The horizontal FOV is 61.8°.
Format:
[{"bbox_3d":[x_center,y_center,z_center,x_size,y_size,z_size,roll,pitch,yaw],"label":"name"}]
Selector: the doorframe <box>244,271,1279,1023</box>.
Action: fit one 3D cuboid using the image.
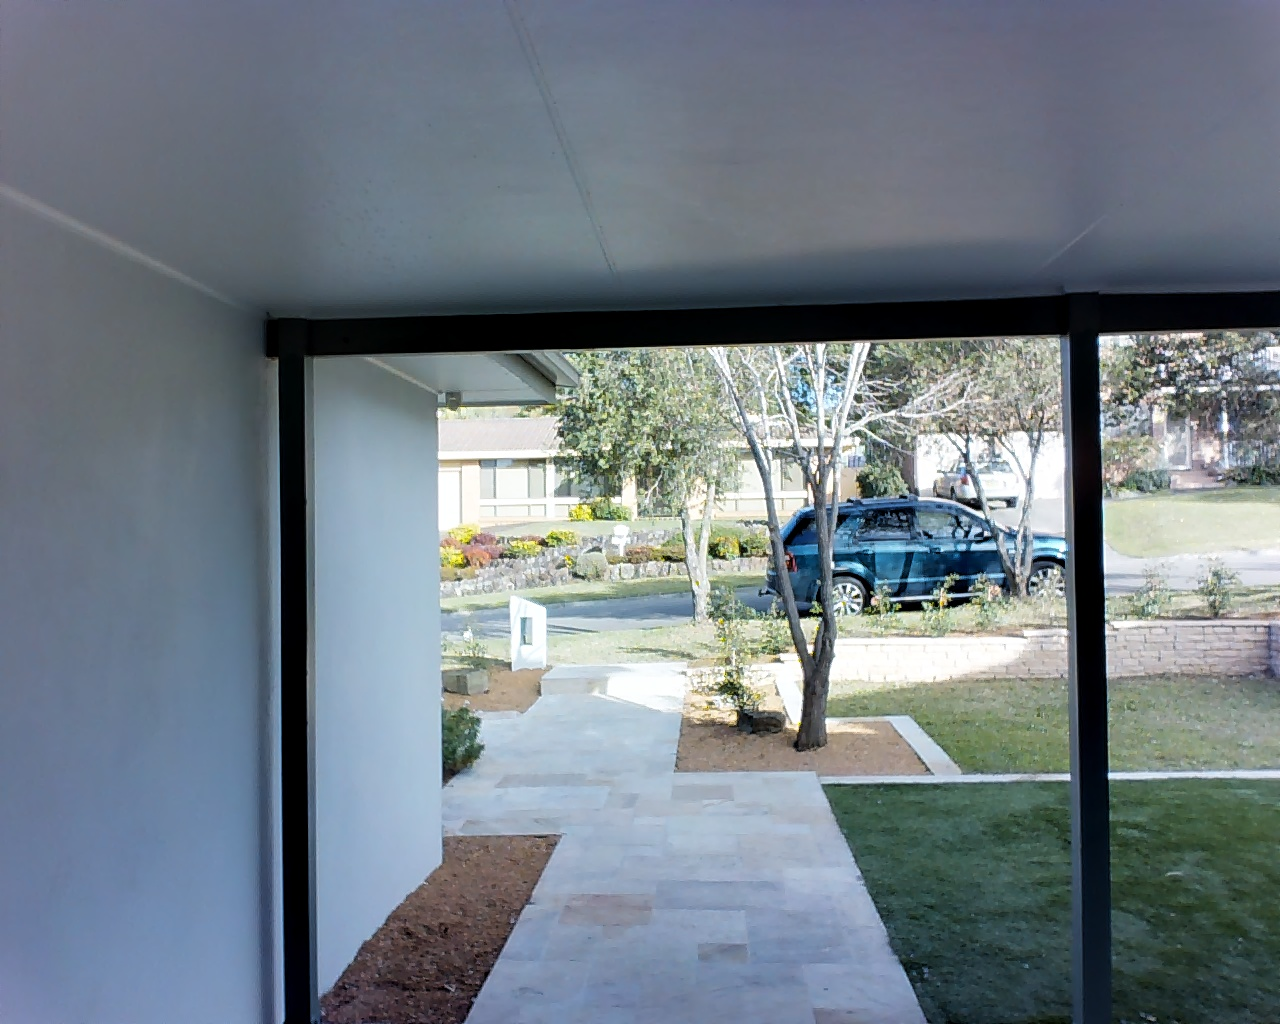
[{"bbox_3d":[1.500,0.520,3.400,5.468,2.451,0.440,-1,-2,4],"label":"doorframe"}]
